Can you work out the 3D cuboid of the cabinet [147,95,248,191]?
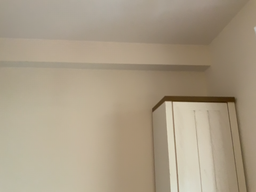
[{"bbox_3d":[0.470,1.010,1.450,0.550,1.980,0.460,1,-15,-4],"label":"cabinet"}]
